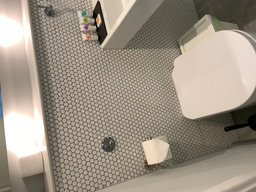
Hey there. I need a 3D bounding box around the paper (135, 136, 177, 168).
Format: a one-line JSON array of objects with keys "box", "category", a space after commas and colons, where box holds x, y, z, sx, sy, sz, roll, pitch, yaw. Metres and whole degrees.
[{"box": [0.130, 0.270, 1.010, 0.150, 0.110, 0.110, -38, 63, 56], "category": "paper"}]

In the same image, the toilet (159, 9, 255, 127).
[{"box": [0.560, -0.110, 1.150, 0.540, 0.460, 0.390, -30, 71, 57], "category": "toilet"}]
